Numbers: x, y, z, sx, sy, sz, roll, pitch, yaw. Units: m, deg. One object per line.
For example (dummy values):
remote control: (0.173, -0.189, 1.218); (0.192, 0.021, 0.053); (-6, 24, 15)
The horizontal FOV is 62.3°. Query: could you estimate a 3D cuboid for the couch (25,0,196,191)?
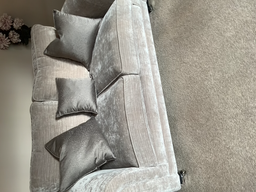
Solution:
couch: (-0.310, -0.040, 1.910); (1.070, 0.930, 1.760); (-28, 65, 50)
